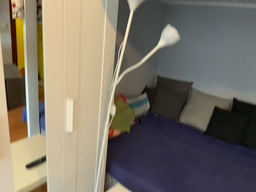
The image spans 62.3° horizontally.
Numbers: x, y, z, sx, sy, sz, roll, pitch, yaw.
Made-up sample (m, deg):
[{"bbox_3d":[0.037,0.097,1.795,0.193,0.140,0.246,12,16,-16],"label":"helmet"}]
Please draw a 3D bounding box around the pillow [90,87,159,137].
[{"bbox_3d":[0.000,0.140,2.470,0.280,0.280,0.920,18,22,32],"label":"pillow"}]

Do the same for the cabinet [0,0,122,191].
[{"bbox_3d":[-0.680,0.110,1.160,0.550,1.890,1.190,19,22,33],"label":"cabinet"}]
